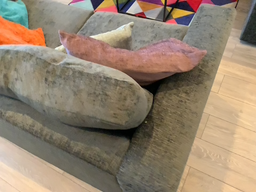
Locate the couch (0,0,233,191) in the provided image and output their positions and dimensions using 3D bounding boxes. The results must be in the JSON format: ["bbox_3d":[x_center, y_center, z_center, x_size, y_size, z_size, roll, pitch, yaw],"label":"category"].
[{"bbox_3d":[-0.420,-0.220,1.250,1.650,0.810,0.920,19,59,17],"label":"couch"}]
